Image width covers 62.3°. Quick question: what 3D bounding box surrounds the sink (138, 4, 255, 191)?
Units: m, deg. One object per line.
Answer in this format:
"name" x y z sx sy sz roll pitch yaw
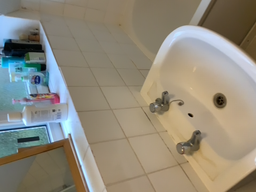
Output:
"sink" 0.330 -0.020 0.830 0.570 0.210 0.420 56 136 38
